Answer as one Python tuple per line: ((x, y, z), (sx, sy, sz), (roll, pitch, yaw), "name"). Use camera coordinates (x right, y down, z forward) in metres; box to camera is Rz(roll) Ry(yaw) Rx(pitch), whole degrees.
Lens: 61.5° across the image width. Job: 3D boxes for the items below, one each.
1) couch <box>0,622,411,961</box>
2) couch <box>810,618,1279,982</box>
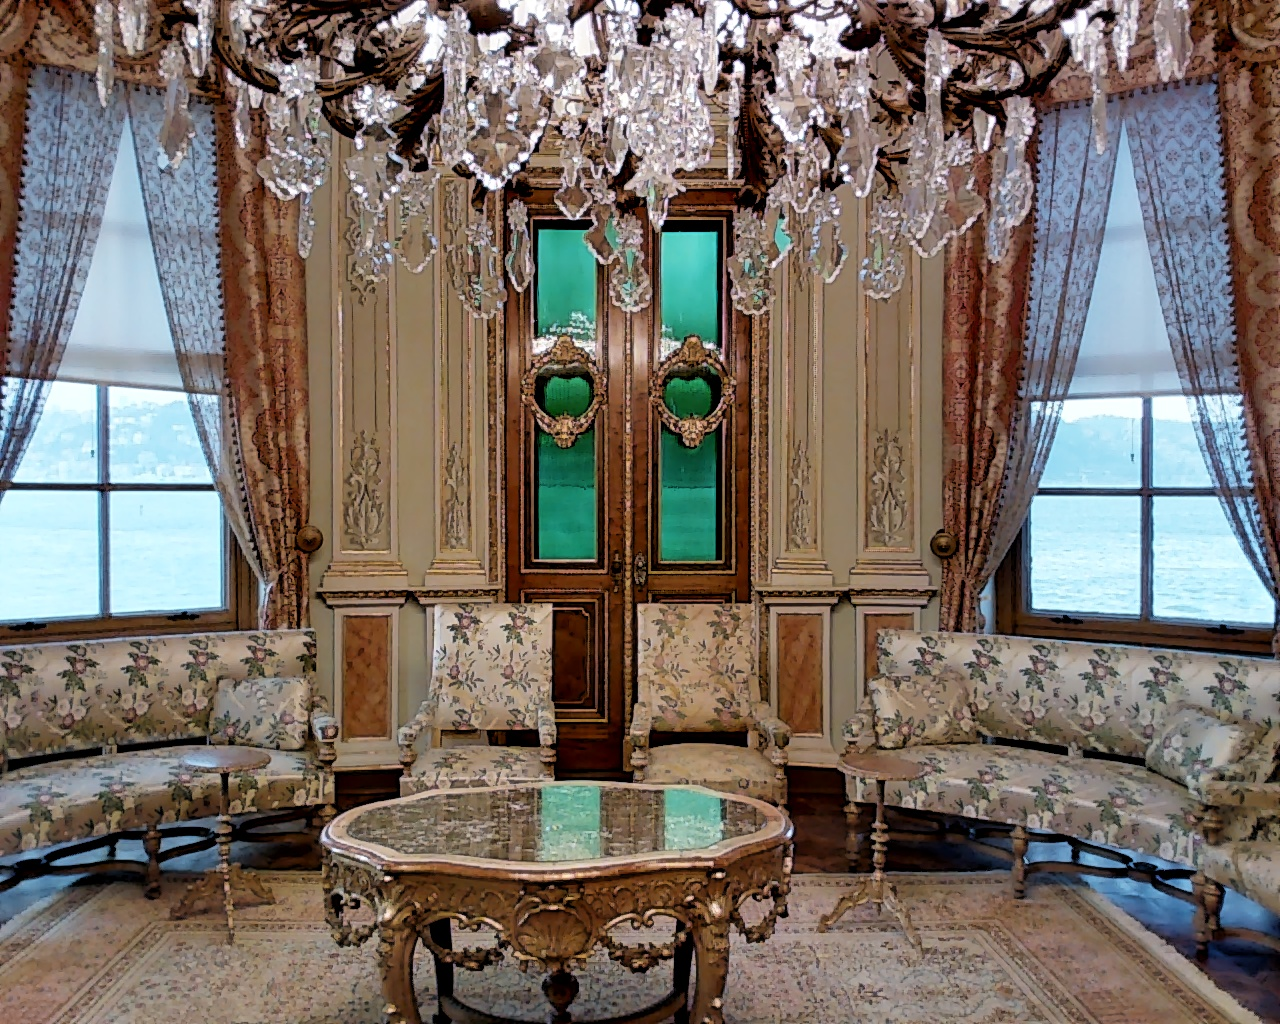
((-2.129, 1.110, 4.720), (1.939, 1.030, 1.030), (-1, 1, -38), "couch")
((1.869, 1.100, 4.740), (2.010, 1.040, 0.980), (1, 1, 44), "couch")
